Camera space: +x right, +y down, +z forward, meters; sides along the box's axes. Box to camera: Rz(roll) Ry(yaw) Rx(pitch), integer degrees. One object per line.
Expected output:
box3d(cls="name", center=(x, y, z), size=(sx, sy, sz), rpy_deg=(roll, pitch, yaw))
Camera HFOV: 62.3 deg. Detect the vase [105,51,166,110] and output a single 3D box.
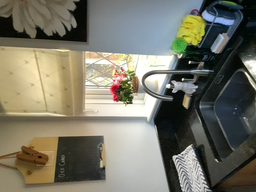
box3d(cls="vase", center=(0.030, -0.100, 1.450), size=(0.250, 0.340, 0.300), rpy_deg=(104, 163, -48))
